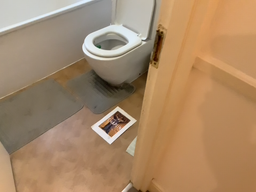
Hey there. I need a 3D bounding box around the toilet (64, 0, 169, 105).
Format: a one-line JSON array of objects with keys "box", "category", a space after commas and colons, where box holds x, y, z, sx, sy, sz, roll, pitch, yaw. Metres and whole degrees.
[{"box": [-0.070, -0.490, 1.680, 0.370, 0.870, 0.670, 36, 54, 25], "category": "toilet"}]
